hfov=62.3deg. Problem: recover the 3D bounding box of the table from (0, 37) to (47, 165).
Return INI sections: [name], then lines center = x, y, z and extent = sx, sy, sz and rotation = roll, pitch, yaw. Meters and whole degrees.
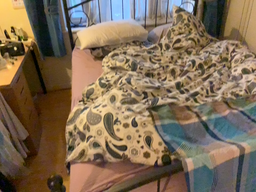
[table]
center = -1.240, -0.030, 2.140
extent = 0.560, 0.740, 1.210
rotation = -10, 33, -10
